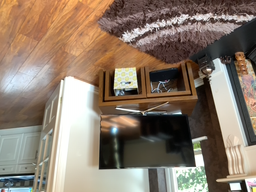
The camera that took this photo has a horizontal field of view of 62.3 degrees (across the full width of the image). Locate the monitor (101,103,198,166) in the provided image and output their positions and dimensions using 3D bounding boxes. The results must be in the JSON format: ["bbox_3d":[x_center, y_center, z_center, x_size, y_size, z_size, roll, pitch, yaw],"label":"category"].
[{"bbox_3d":[0.200,0.380,2.130,0.920,0.600,0.080,2,153,-8],"label":"monitor"}]

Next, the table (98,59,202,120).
[{"bbox_3d":[0.230,-0.050,2.440,1.030,0.440,0.520,-3,154,4],"label":"table"}]
